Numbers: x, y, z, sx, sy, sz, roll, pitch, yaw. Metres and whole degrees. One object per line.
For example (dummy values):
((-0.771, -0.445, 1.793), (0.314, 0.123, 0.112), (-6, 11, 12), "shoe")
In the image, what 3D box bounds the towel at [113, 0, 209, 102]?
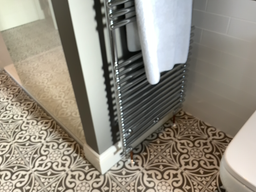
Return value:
((0.170, -0.490, 0.920), (0.170, 0.950, 0.490), (30, 49, 35), "towel")
